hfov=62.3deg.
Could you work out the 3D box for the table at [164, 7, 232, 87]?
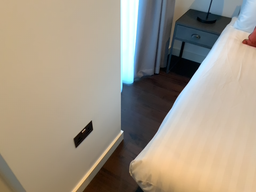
[{"bbox_3d":[0.730,-0.530,2.290,0.460,0.620,0.440,24,47,21],"label":"table"}]
